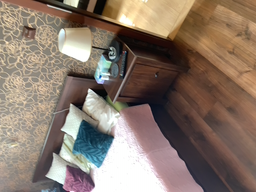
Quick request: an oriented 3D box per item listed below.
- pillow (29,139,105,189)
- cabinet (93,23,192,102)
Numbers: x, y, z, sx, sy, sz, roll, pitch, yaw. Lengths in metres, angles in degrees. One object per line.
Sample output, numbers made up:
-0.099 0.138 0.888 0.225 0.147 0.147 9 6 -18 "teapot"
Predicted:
-0.670 0.780 2.390 0.680 0.430 0.150 -28 52 3 "pillow"
0.120 -0.270 1.920 0.360 0.650 0.500 57 130 41 "cabinet"
